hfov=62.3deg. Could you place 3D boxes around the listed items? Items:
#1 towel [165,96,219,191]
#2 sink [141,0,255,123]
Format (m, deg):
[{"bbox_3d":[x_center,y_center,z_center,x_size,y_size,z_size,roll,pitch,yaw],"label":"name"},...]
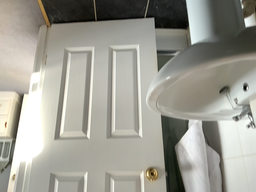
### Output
[{"bbox_3d":[0.340,0.540,1.100,0.170,1.060,0.250,0,159,-2],"label":"towel"},{"bbox_3d":[0.290,-0.060,0.690,0.420,0.160,0.600,1,159,-4],"label":"sink"}]
